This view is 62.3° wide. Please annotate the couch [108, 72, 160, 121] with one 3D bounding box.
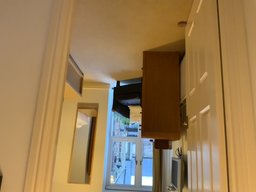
[{"bbox_3d":[0.120,0.050,3.750,0.720,0.680,0.570,-7,163,31],"label":"couch"}]
